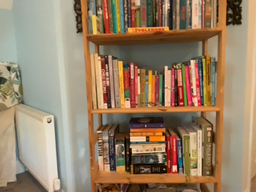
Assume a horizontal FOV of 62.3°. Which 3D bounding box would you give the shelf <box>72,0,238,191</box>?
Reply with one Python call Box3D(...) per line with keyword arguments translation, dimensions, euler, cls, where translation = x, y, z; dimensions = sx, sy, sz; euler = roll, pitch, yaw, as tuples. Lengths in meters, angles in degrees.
Box3D(translation=(0.150, 0.050, 1.250), dimensions=(0.760, 1.630, 0.400), euler=(-2, 8, 3), cls="shelf")
